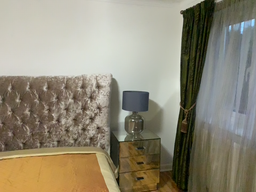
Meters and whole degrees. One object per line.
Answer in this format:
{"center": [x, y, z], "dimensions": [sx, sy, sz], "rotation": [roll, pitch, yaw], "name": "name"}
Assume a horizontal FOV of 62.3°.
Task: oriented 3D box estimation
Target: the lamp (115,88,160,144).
{"center": [0.100, 0.220, 2.610], "dimensions": [0.450, 0.600, 0.390], "rotation": [-1, 7, -15], "name": "lamp"}

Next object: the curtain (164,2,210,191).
{"center": [0.680, 0.070, 2.570], "dimensions": [0.180, 2.150, 0.530], "rotation": [-1, 7, -17], "name": "curtain"}

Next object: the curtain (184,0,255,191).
{"center": [0.970, 0.270, 1.690], "dimensions": [0.150, 2.060, 1.470], "rotation": [-2, 7, -18], "name": "curtain"}
